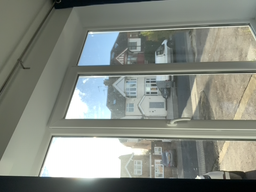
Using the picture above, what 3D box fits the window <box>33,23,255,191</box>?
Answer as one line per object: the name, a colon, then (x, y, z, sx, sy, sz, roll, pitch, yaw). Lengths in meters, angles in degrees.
window: (0.350, -0.010, 1.750, 0.150, 1.720, 1.730, 82, -169, -50)
